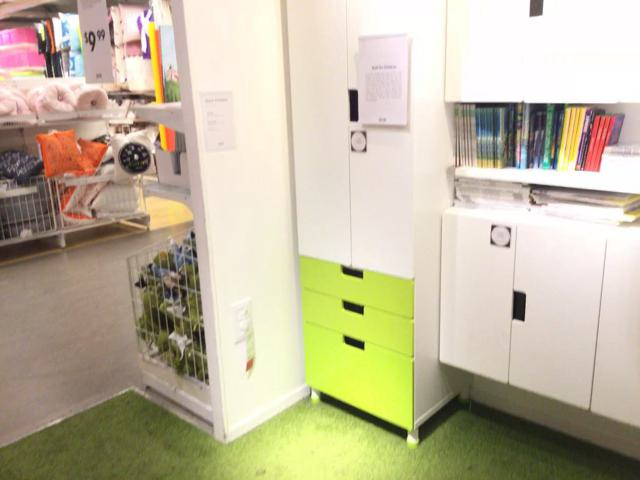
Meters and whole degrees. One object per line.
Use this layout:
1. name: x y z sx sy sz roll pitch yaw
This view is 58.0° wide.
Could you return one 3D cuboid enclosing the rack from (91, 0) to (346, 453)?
1. rack: -0.420 -0.160 2.620 0.730 1.870 0.710 -14 19 -38
